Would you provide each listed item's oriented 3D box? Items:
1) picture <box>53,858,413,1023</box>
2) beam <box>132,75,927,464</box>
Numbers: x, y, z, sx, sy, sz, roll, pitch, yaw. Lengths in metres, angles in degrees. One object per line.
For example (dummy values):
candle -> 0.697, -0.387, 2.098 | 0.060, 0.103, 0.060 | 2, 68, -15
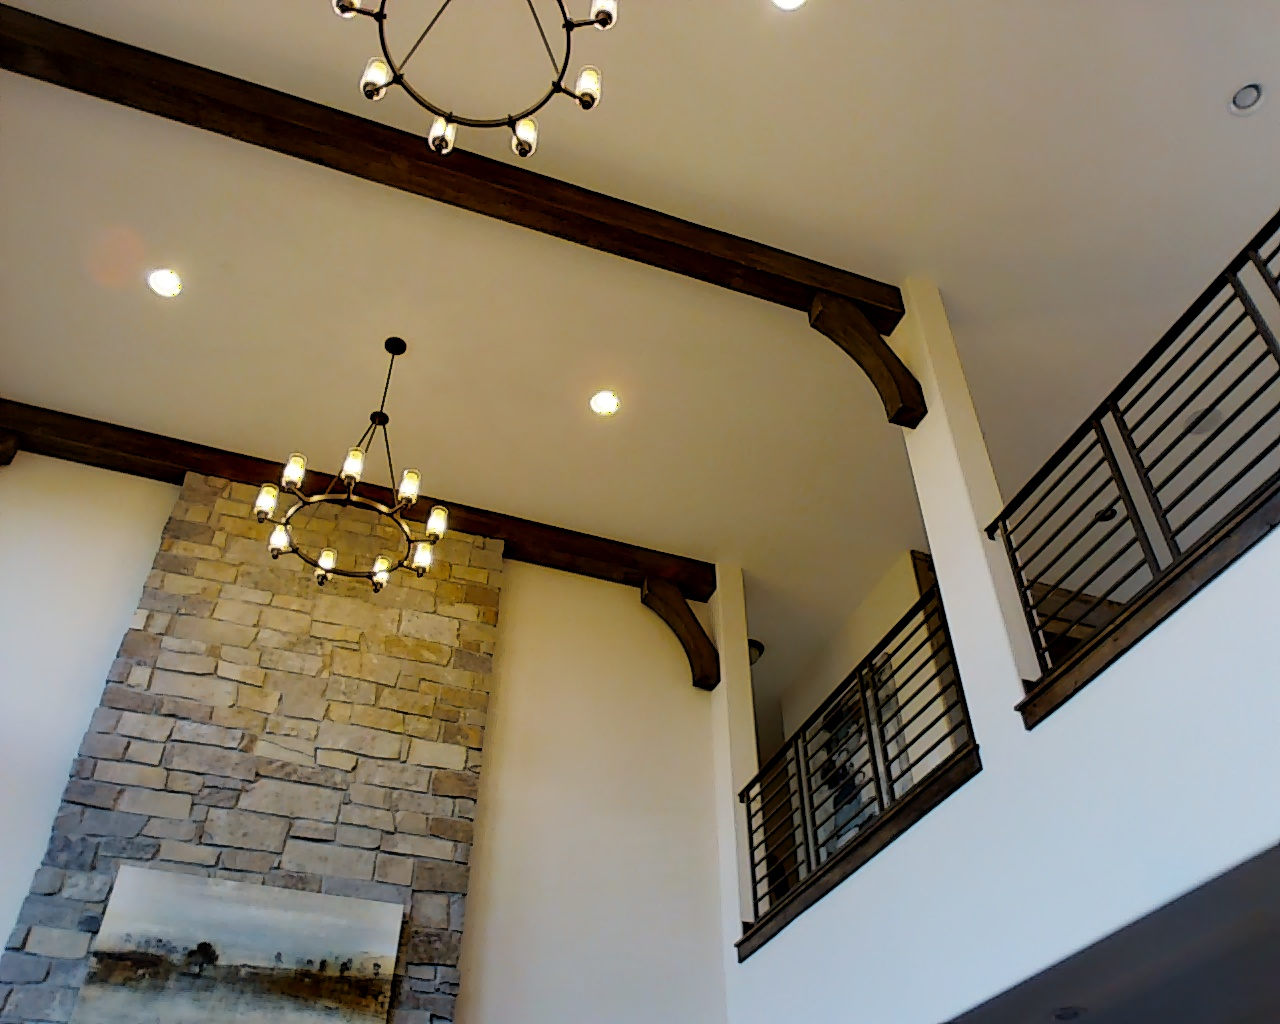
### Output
picture -> -1.860, 2.380, 4.860 | 1.460, 1.430, 0.070 | 15, -44, -16
beam -> -0.360, -1.130, 5.220 | 3.700, 0.940, 0.280 | 15, -44, -15
